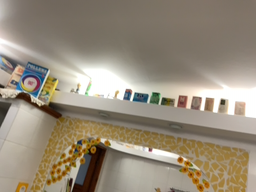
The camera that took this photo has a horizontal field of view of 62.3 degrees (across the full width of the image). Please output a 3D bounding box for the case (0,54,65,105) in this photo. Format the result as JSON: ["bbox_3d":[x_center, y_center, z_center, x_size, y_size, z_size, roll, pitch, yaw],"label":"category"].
[{"bbox_3d":[-0.690,-0.120,1.530,0.300,0.260,0.240,6,-22,22],"label":"case"}]
